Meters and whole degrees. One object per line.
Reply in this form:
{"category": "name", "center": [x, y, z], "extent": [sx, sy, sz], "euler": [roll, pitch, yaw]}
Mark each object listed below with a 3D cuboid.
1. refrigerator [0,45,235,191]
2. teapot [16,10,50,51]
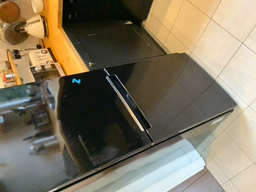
{"category": "refrigerator", "center": [-0.240, 0.230, 1.400], "extent": [0.590, 1.850, 0.680], "euler": [54, 144, 29]}
{"category": "teapot", "center": [-0.860, -0.600, 1.930], "extent": [0.250, 0.200, 0.250], "euler": [52, 142, 32]}
